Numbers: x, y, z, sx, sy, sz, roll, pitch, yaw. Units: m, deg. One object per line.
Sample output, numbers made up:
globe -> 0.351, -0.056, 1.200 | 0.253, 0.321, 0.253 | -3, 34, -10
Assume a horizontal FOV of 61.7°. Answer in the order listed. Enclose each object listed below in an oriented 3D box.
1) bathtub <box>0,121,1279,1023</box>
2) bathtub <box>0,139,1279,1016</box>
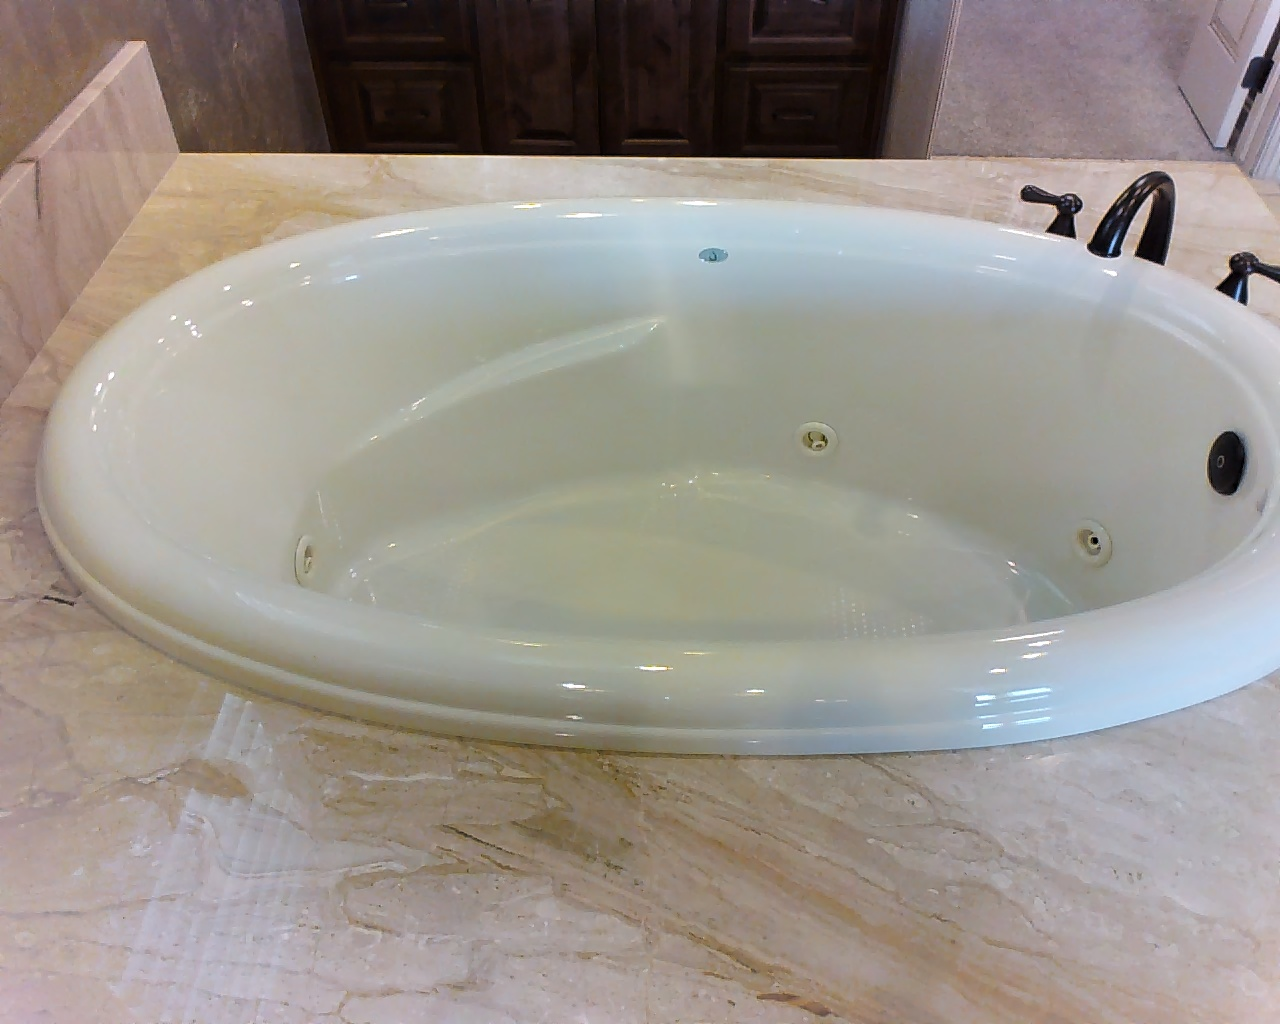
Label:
bathtub -> 0.100, 0.080, 1.580 | 1.940, 0.610, 1.590 | 1, 45, 2
bathtub -> 0.070, 0.000, 1.510 | 1.660, 0.550, 1.110 | 1, 45, 3
